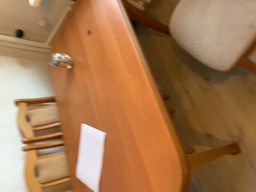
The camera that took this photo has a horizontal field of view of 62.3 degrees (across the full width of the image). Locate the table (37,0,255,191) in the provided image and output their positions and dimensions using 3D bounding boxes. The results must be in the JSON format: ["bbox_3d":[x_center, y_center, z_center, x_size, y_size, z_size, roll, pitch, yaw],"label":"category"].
[{"bbox_3d":[0.030,0.000,1.410,0.870,0.770,1.290,-41,59,38],"label":"table"}]

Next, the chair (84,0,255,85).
[{"bbox_3d":[0.400,-0.430,0.910,0.430,0.930,0.550,50,123,37],"label":"chair"}]

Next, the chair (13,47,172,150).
[{"bbox_3d":[-0.230,0.050,1.560,0.540,0.950,0.360,-45,56,36],"label":"chair"}]
